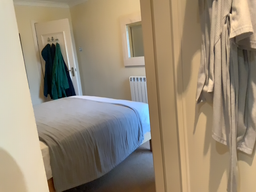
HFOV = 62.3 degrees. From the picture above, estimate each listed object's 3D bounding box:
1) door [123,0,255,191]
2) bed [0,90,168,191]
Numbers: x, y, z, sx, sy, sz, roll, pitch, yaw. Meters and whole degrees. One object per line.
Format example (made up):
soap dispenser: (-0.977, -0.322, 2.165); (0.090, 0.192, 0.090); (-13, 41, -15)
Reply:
door: (0.380, -0.070, 0.960); (0.100, 2.150, 1.020); (-15, 16, -38)
bed: (-0.840, 0.520, 2.320); (1.510, 0.650, 2.270); (6, 17, 43)
